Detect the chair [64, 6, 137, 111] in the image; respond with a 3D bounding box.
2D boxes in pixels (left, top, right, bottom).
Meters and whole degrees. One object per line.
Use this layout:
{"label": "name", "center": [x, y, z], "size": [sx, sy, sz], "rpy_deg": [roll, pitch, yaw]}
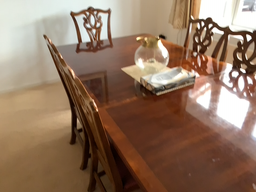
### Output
{"label": "chair", "center": [-0.300, -0.460, 2.460], "size": [0.590, 0.990, 0.610], "rpy_deg": [-15, 33, -22]}
